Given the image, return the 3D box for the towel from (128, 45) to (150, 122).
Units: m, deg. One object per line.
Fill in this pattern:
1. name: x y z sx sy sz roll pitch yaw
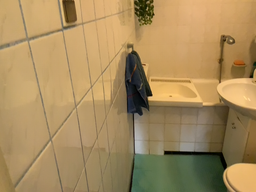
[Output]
1. towel: 0.100 -0.110 1.740 0.140 0.540 0.330 1 24 7
